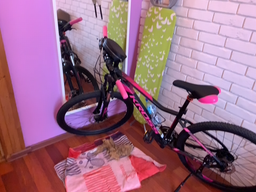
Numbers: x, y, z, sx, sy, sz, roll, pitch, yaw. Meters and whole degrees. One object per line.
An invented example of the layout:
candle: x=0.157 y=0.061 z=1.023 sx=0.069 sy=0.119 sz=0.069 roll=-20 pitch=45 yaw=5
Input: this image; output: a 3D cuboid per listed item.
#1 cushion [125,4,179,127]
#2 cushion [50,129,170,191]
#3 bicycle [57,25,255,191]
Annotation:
cushion: x=0.190 y=-0.270 z=2.050 sx=0.190 sy=1.110 sz=0.360 roll=-18 pitch=35 yaw=-35
cushion: x=-0.150 y=0.580 z=1.770 sx=0.800 sy=0.040 sz=0.600 roll=-16 pitch=35 yaw=-33
bicycle: x=0.240 y=0.160 z=1.500 sx=0.900 sy=0.970 sz=1.460 roll=-16 pitch=34 yaw=-33
